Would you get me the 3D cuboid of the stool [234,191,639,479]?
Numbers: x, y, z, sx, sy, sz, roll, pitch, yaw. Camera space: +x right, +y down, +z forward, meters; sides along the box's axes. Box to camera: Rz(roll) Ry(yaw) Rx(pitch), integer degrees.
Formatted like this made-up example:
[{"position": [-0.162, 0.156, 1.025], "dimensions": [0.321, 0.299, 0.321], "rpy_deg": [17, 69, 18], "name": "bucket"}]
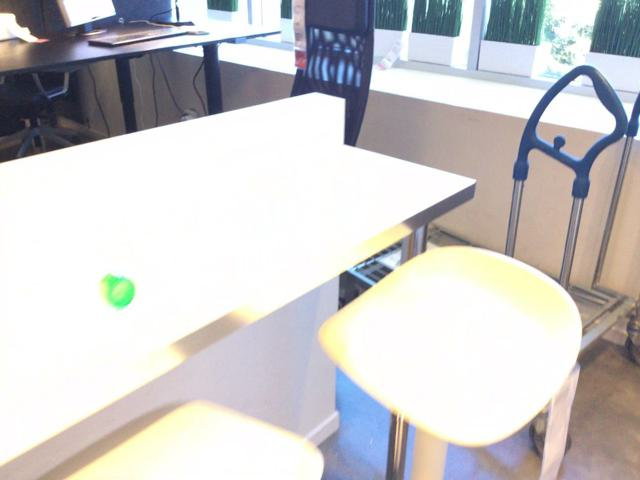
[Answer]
[{"position": [0.200, 0.410, 1.110], "dimensions": [0.530, 0.830, 0.470], "rpy_deg": [21, 29, 39], "name": "stool"}]
